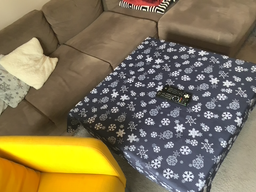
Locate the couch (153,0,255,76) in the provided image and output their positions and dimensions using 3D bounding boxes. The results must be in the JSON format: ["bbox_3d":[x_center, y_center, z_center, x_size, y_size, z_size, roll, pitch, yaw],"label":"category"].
[{"bbox_3d":[0.850,-0.910,2.010,0.970,0.820,0.720,-42,51,-19],"label":"couch"}]

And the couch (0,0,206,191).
[{"bbox_3d":[-0.520,-0.520,2.110,1.120,0.800,3.150,27,62,34],"label":"couch"}]
